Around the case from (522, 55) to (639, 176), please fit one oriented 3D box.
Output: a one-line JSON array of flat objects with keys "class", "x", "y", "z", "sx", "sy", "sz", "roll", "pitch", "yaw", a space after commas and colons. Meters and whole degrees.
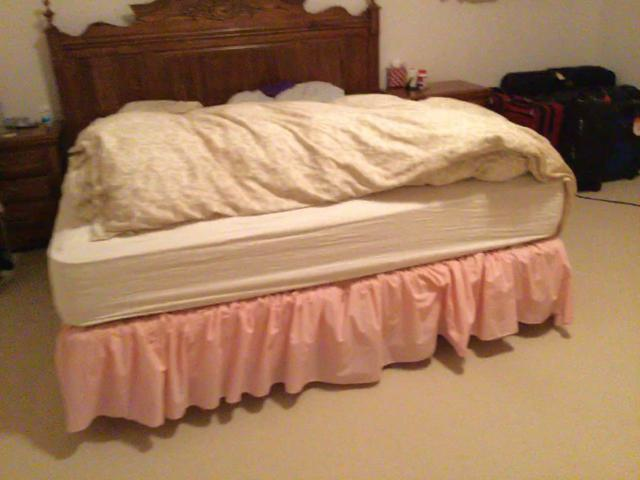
[{"class": "case", "x": 1.850, "y": -0.870, "z": 3.990, "sx": 0.790, "sy": 0.690, "sz": 0.320, "roll": -10, "pitch": 21, "yaw": -13}]
